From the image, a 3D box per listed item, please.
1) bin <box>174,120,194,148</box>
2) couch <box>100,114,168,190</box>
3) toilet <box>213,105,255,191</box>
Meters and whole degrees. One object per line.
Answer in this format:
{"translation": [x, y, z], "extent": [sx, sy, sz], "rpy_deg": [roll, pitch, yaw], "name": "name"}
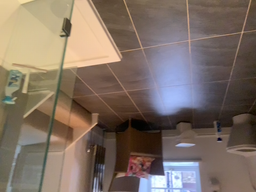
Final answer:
{"translation": [0.750, 0.520, 2.830], "extent": [0.230, 0.290, 0.330], "rpy_deg": [-5, 156, 15], "name": "bin"}
{"translation": [0.070, 0.780, 2.830], "extent": [0.620, 0.850, 0.610], "rpy_deg": [14, 153, -27], "name": "couch"}
{"translation": [1.370, 0.620, 2.390], "extent": [0.640, 0.850, 0.340], "rpy_deg": [16, 153, -29], "name": "toilet"}
